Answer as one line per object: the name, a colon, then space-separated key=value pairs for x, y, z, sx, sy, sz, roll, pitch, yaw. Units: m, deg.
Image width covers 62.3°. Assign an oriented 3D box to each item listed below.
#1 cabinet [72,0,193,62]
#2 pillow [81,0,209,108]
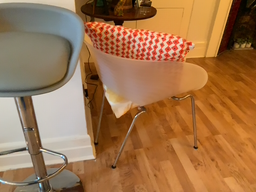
cabinet: x=0.010 y=-0.890 z=2.590 sx=1.280 sy=0.570 sz=0.700 roll=-4 pitch=126 yaw=-11
pillow: x=0.030 y=-0.170 z=1.010 sx=0.460 sy=0.480 sz=0.180 roll=35 pitch=77 yaw=-4
